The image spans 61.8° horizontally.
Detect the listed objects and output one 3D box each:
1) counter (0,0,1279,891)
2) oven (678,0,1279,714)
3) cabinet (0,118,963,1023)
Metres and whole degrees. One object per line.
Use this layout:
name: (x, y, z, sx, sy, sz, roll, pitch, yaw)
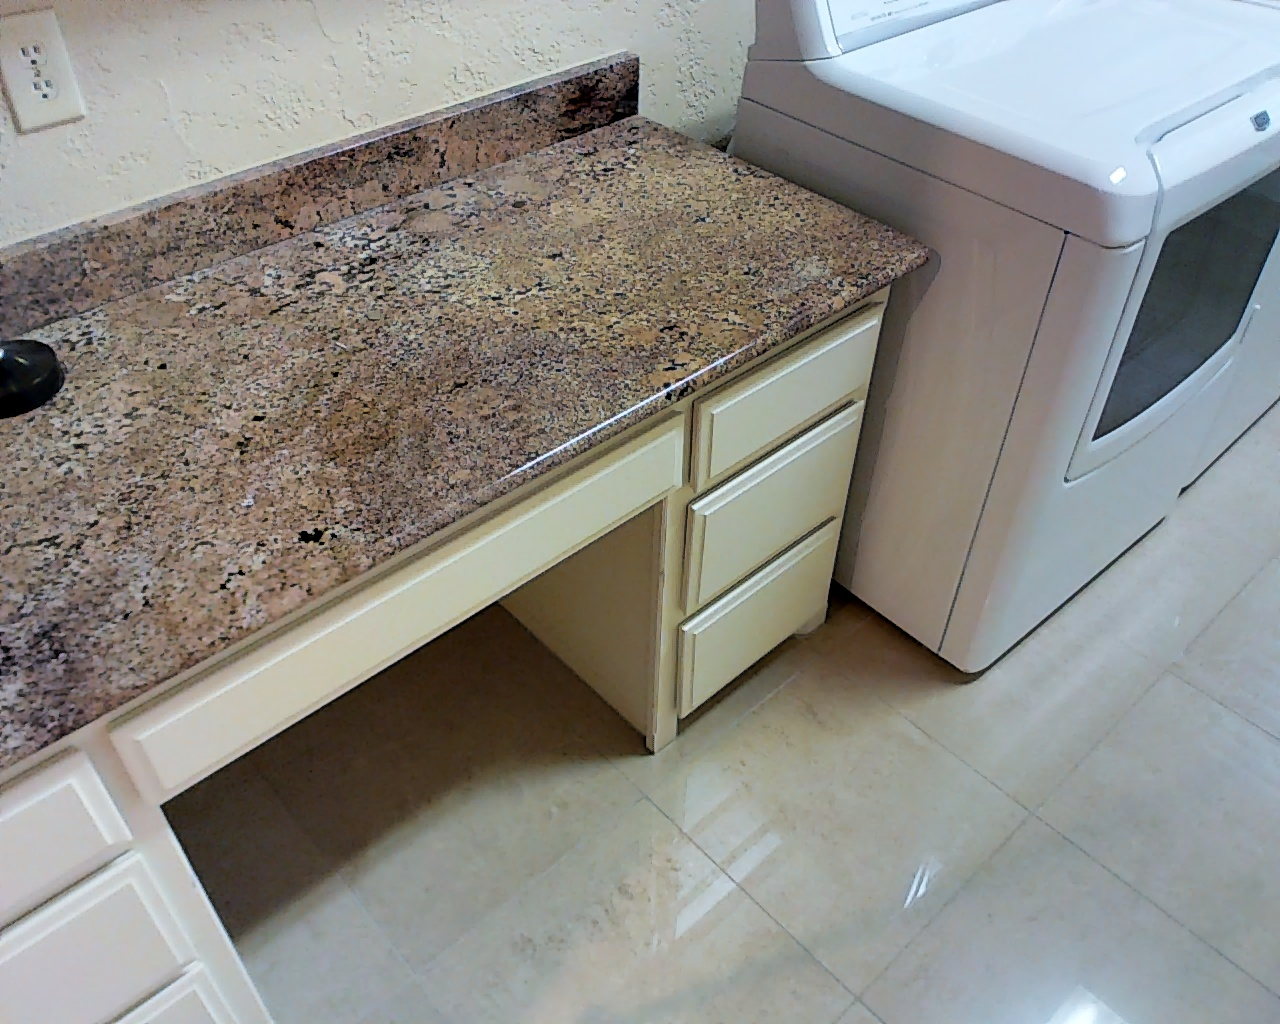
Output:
counter: (0.520, -0.770, 1.860, 4.110, 0.340, 0.690, -32, 51, -31)
oven: (0.640, -0.450, 1.960, 0.760, 1.210, 0.800, -31, 51, -30)
cabinet: (-0.370, 0.120, 1.610, 1.620, 0.820, 0.680, -30, 50, -30)
